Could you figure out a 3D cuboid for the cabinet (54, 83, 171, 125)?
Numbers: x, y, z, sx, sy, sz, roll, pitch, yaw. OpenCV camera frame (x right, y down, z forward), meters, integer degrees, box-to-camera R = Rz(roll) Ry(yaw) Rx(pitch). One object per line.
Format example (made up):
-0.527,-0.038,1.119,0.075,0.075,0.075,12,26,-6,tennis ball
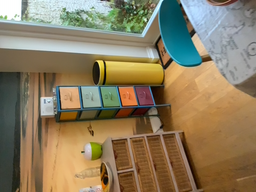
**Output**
-0.170,0.080,2.440,0.360,1.260,0.300,124,138,-52,cabinet
